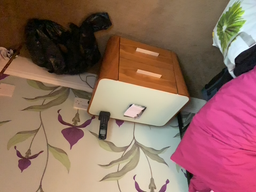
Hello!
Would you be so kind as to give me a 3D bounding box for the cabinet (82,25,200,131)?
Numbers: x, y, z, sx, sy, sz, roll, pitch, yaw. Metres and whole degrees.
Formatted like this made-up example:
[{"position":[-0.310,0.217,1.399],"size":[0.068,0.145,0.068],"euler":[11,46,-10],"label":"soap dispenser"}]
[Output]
[{"position":[0.050,-0.080,1.420],"size":[0.590,0.380,0.480],"euler":[12,143,-16],"label":"cabinet"}]
